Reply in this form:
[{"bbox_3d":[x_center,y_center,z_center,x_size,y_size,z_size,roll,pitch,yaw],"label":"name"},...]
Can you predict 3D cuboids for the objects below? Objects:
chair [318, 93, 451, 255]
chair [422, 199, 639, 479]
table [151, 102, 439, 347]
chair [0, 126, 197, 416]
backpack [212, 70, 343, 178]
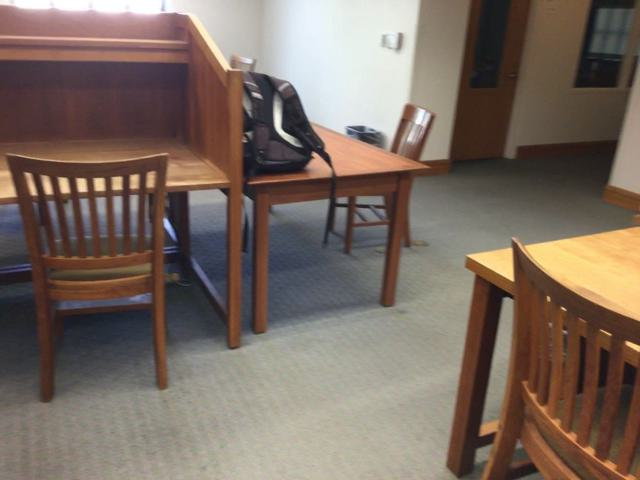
[{"bbox_3d":[0.380,-0.440,3.640,0.590,0.890,0.480,-7,22,-25],"label":"chair"},{"bbox_3d":[0.750,0.450,1.430,0.640,0.910,0.670,-7,22,-25],"label":"chair"},{"bbox_3d":[-0.290,-0.260,3.330,0.960,0.830,1.760,-7,22,-25],"label":"table"},{"bbox_3d":[-0.860,0.060,2.260,0.580,0.890,0.640,-7,22,-25],"label":"chair"},{"bbox_3d":[-0.200,-0.520,2.510,0.420,0.380,0.440,-7,22,-25],"label":"backpack"}]
